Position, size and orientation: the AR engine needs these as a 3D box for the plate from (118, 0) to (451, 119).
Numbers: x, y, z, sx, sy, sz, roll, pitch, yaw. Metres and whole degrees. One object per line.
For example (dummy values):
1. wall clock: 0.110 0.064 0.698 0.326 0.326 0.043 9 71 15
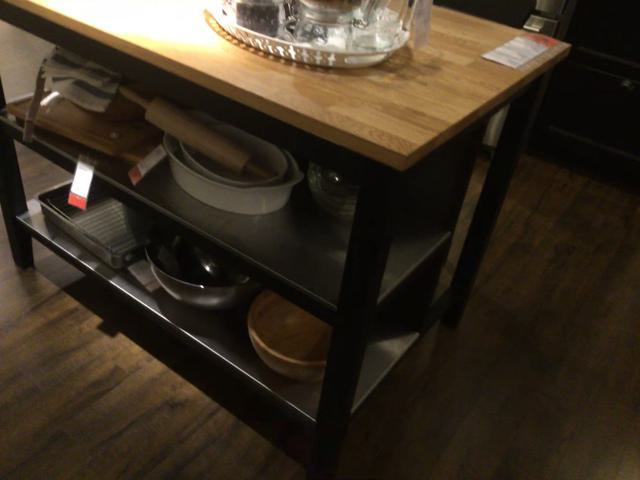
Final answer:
1. plate: -0.070 -0.390 1.100 0.510 0.050 0.370 30 43 29
